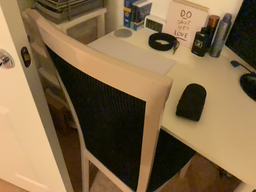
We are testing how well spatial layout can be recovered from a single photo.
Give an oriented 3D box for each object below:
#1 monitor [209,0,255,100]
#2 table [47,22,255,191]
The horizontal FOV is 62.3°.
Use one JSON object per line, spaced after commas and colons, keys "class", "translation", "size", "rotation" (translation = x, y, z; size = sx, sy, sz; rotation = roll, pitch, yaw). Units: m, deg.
{"class": "monitor", "translation": [0.540, -0.170, 0.780], "size": [0.070, 0.370, 0.500], "rotation": [-12, 48, -18]}
{"class": "table", "translation": [0.150, 0.160, 1.190], "size": [1.000, 0.700, 0.530], "rotation": [31, 50, 25]}
